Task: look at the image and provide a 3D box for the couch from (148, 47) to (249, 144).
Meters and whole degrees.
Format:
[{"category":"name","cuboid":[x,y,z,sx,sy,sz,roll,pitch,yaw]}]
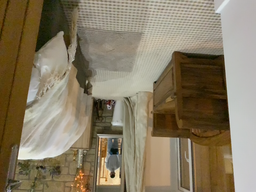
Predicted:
[{"category":"couch","cuboid":[0.610,0.100,2.240,0.580,0.760,1.060,3,166,-6]}]
